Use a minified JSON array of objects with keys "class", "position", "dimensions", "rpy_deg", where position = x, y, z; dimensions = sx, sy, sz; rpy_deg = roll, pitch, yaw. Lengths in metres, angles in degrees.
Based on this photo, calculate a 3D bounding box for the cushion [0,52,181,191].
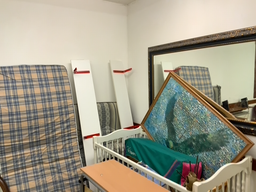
[{"class":"cushion","position":[-0.470,0.450,2.250],"dimensions":[2.040,1.690,0.750],"rpy_deg":[-4,7,-30]}]
